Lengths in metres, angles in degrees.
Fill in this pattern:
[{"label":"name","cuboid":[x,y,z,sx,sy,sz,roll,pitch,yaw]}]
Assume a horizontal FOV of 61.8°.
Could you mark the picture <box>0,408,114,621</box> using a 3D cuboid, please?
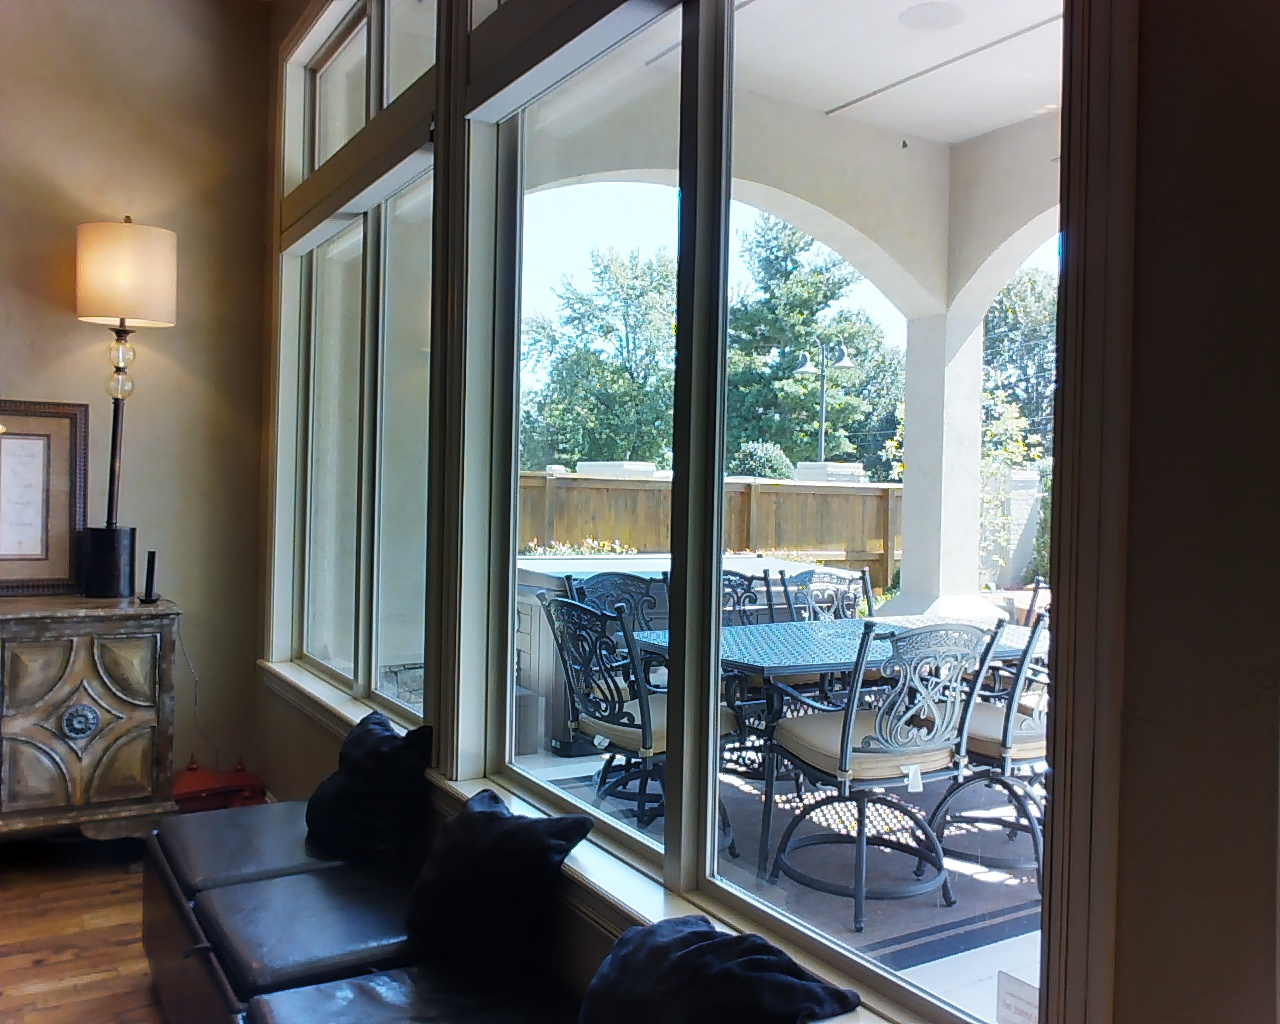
[{"label":"picture","cuboid":[-2.390,0.010,4.180,0.560,0.810,0.170,2,0,-32]}]
